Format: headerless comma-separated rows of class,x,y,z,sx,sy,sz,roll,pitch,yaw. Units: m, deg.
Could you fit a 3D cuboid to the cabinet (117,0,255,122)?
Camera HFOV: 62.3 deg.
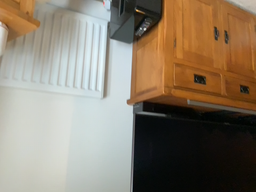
cabinet,0.670,-0.270,1.710,1.370,0.830,0.540,9,167,-27

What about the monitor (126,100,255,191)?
monitor,0.650,0.550,1.430,1.450,0.880,0.060,8,167,-26
